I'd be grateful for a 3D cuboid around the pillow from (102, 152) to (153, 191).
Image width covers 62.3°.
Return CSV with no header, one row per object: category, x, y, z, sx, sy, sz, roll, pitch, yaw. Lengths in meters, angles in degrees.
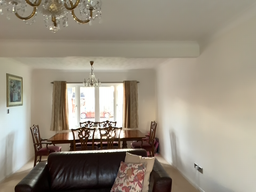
pillow,-0.010,1.000,2.630,0.470,0.410,0.150,-45,1,30
